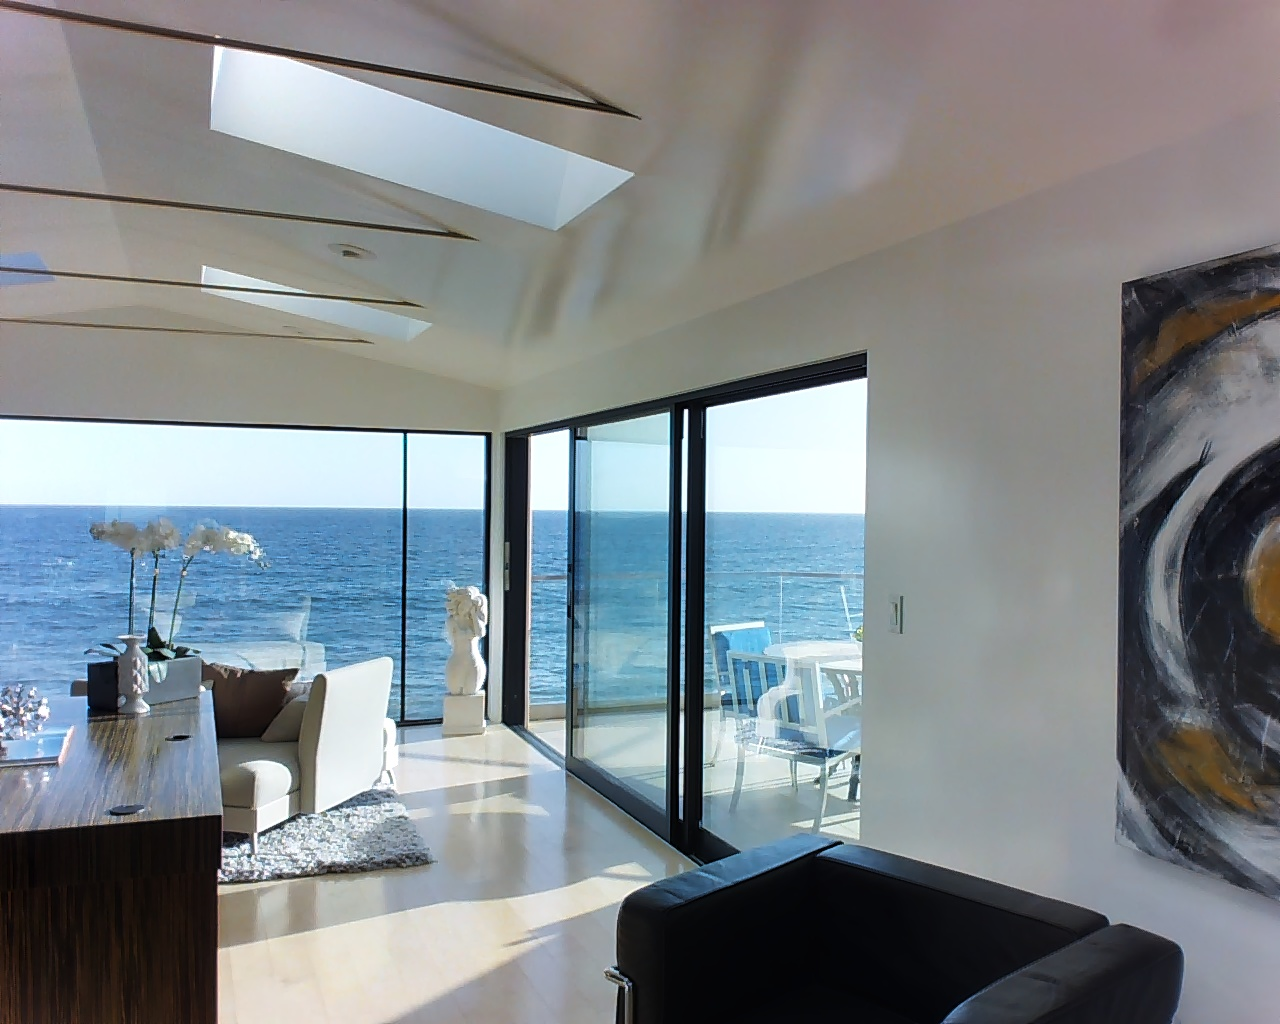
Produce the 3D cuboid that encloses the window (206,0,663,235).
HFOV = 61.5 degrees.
[{"bbox_3d":[-0.650,-1.261,3.280,1.240,0.530,0.750,0,0,-22],"label":"window"}]

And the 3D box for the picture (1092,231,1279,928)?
[{"bbox_3d":[1.349,0.130,1.880,0.070,1.341,1.360,0,0,-22],"label":"picture"}]
